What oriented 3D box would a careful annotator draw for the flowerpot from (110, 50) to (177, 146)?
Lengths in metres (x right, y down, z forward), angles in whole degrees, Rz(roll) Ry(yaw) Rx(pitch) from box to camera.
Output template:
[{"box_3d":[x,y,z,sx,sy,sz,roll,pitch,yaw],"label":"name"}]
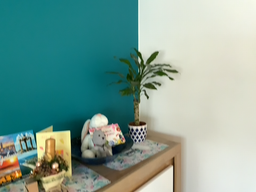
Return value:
[{"box_3d":[0.120,-0.010,1.570,0.380,0.610,0.300,5,10,34],"label":"flowerpot"}]
